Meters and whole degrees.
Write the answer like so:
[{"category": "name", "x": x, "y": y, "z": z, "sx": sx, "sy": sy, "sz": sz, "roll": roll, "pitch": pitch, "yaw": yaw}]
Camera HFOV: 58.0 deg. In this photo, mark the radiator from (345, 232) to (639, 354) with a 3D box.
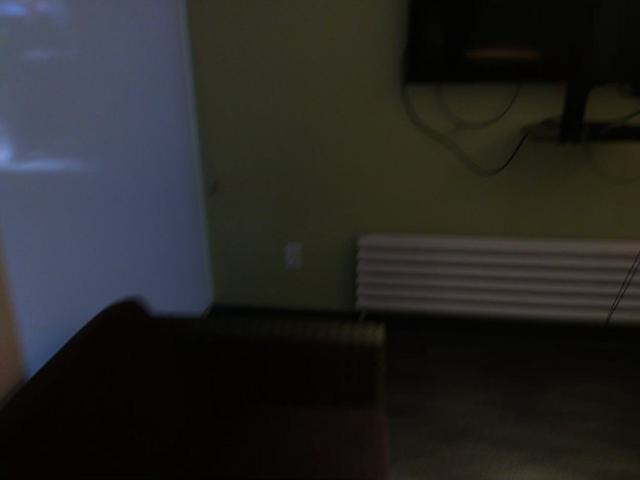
[{"category": "radiator", "x": 0.920, "y": 0.220, "z": 2.390, "sx": 1.620, "sy": 0.430, "sz": 0.140, "roll": 2, "pitch": 22, "yaw": 10}]
